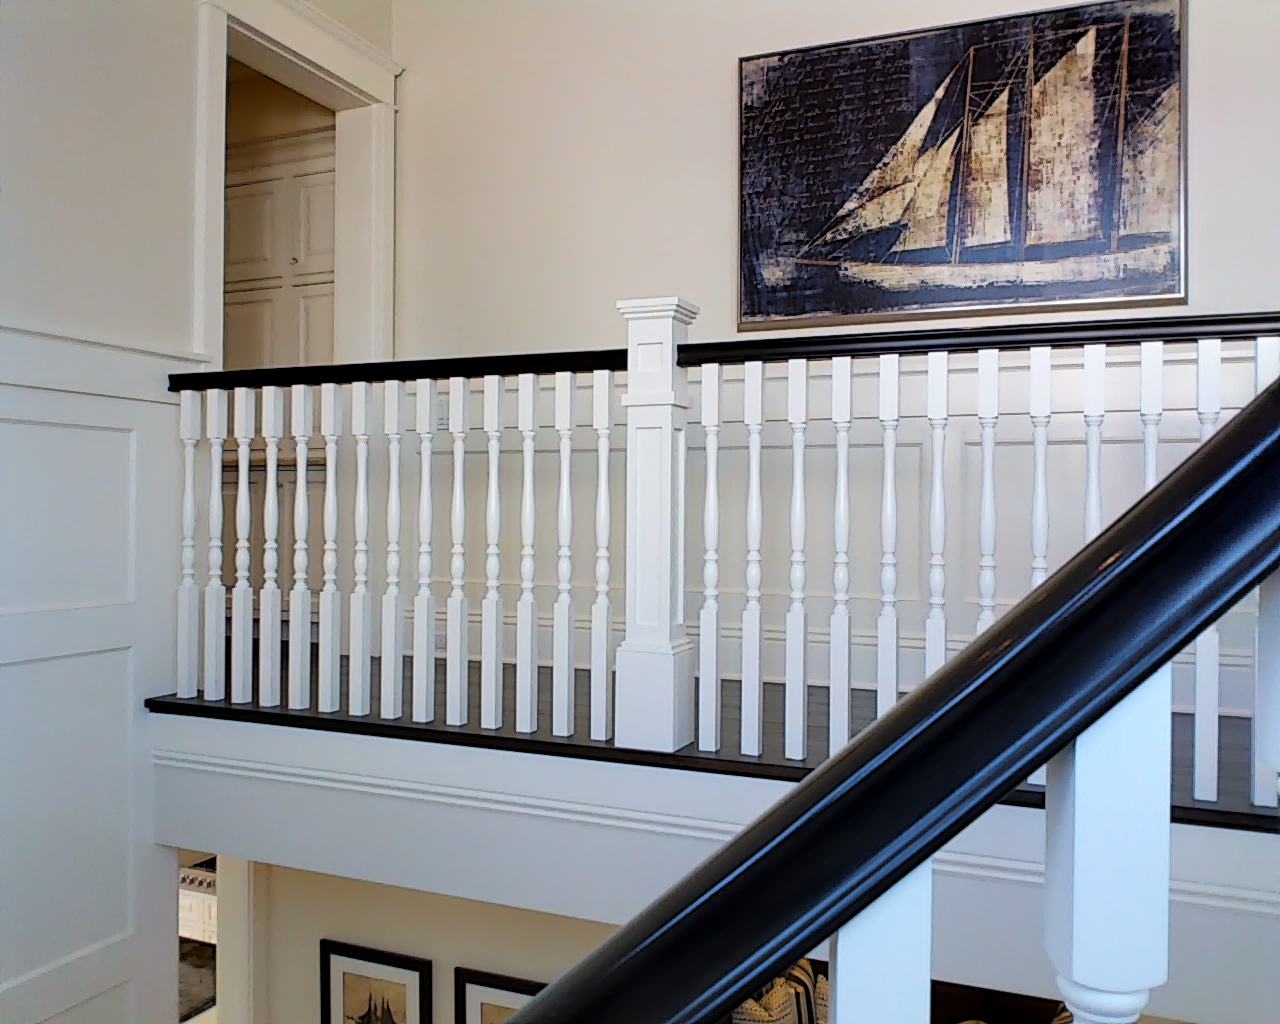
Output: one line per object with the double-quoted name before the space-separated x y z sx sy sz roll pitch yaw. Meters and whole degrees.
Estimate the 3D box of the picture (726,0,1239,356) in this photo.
"picture" 1.159 -1.221 3.880 1.759 1.221 0.050 1 0 24
